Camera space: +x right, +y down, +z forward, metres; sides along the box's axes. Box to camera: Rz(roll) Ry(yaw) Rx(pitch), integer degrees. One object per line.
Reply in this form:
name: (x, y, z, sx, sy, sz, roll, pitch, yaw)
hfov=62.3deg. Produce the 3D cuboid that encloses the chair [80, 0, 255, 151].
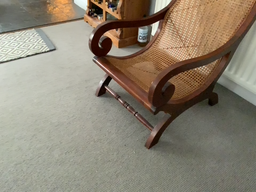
chair: (0.290, -0.370, 1.410, 0.950, 0.930, 0.670, -24, 48, -29)
